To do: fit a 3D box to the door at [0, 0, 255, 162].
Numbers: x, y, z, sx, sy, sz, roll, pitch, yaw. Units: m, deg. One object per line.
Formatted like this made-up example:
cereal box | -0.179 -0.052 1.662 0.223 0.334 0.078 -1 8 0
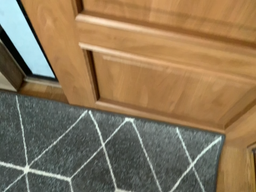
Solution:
door | 0.170 -0.300 0.210 0.890 2.230 0.100 10 61 3
